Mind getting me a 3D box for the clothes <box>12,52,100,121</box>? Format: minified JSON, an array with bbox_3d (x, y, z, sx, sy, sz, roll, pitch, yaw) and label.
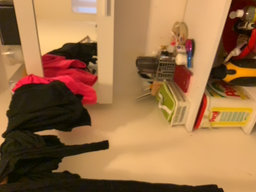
[{"bbox_3d":[-0.320,-0.060,1.070,0.330,0.340,0.220,-100,14,-63],"label":"clothes"}]
